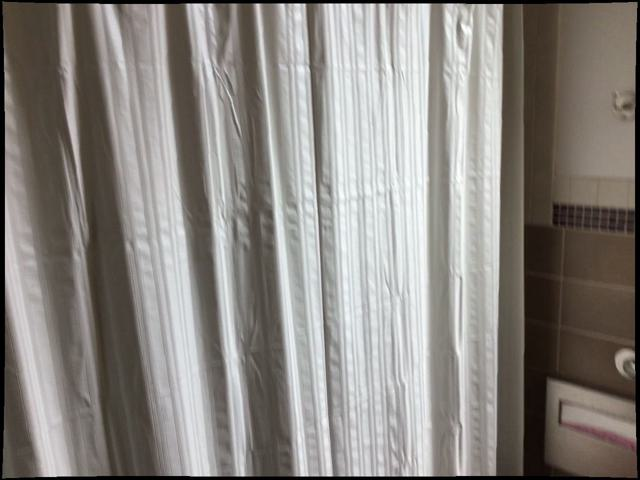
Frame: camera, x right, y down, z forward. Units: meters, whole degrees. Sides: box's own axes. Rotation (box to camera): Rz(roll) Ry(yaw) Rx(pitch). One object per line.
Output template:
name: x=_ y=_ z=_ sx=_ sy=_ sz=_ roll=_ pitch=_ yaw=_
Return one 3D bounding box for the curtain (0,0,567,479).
curtain: x=0.070 y=0.351 z=1.220 sx=1.478 sy=1.915 sz=0.160 roll=-16 pitch=17 yaw=-38

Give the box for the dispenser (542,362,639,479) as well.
dispenser: x=0.818 y=0.551 z=1.560 sx=0.090 sy=0.321 sz=0.410 roll=-16 pitch=17 yaw=-38
